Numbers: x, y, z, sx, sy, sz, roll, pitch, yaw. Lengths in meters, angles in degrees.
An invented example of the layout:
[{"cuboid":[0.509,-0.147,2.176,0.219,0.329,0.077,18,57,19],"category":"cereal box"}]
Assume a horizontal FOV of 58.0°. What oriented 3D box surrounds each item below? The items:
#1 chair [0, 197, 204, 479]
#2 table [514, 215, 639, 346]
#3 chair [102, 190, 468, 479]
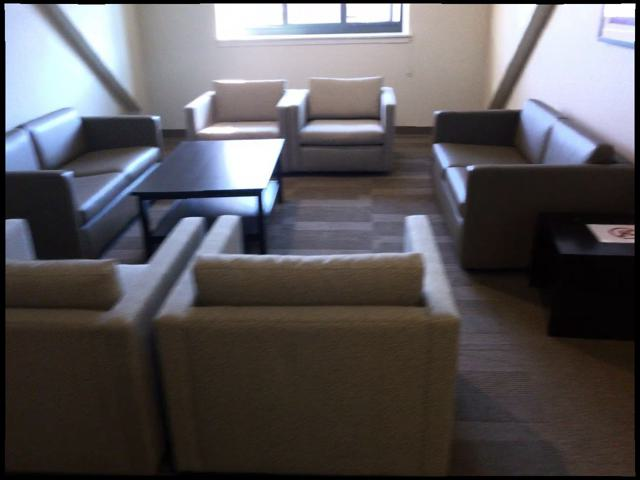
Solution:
[{"cuboid":[-1.008,0.331,2.050,0.928,0.721,0.830,0,25,3],"category":"chair"},{"cuboid":[1.277,0.170,2.670,0.579,0.421,0.490,0,25,3],"category":"table"},{"cuboid":[-0.070,0.311,2.020,0.958,0.741,0.800,0,25,3],"category":"chair"}]
